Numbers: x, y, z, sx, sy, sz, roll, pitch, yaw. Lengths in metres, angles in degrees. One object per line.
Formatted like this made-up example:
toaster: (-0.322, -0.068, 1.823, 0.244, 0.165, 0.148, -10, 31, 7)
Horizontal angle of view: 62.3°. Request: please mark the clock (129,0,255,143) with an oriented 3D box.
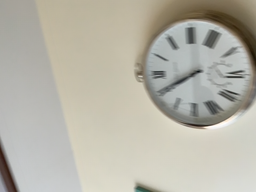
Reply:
clock: (0.250, -0.120, 0.770, 0.130, 0.430, 0.500, -30, -63, -48)
